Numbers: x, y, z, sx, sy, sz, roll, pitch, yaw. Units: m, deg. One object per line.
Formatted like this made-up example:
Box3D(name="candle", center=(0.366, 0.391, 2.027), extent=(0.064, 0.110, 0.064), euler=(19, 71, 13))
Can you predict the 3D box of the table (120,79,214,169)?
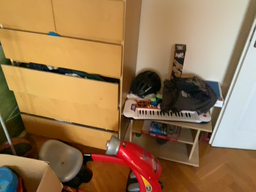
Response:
Box3D(name="table", center=(0.310, 0.210, 1.770), extent=(0.630, 0.430, 0.470), euler=(11, 36, 9))
